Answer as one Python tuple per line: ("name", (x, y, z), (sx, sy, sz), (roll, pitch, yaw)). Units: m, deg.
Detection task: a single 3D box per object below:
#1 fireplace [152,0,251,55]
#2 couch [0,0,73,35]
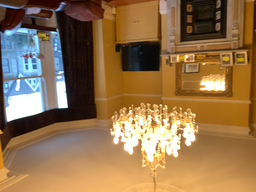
("fireplace", (1.510, -1.560, 4.450), (1.800, 1.290, 0.760), (2, -169, 27))
("couch", (-1.590, -1.520, 3.490), (1.050, 0.840, 0.850), (-8, -169, -34))
